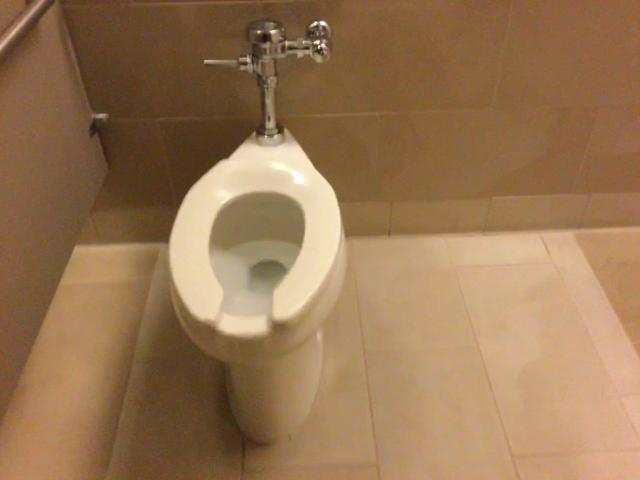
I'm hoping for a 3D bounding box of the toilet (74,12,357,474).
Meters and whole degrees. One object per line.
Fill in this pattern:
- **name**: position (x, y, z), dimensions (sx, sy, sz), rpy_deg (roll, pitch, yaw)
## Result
- **toilet**: position (-0.140, -0.010, 1.320), dimensions (0.390, 0.730, 0.740), rpy_deg (-3, 41, 1)
